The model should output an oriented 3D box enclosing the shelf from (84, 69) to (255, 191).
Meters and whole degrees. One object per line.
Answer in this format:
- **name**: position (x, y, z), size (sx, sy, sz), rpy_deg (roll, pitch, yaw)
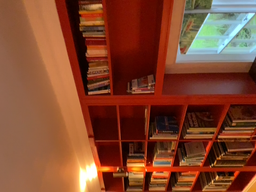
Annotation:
- **shelf**: position (0.640, 1.190, 3.140), size (0.360, 2.010, 3.640), rpy_deg (-90, 0, -47)
